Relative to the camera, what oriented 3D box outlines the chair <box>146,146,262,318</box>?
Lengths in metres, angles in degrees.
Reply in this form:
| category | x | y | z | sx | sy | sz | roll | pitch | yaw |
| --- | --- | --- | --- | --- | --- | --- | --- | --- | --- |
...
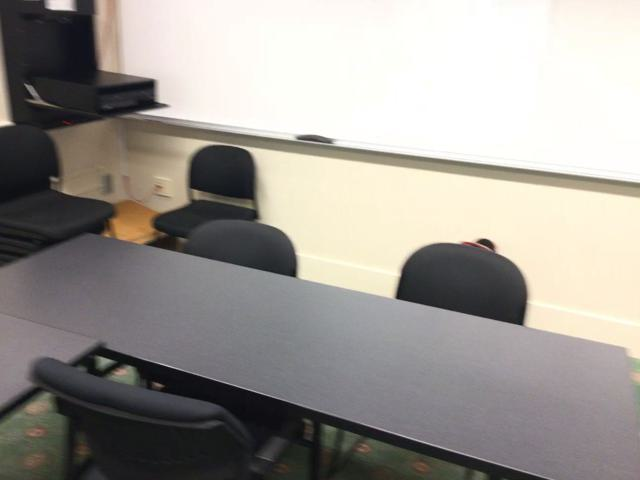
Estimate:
| category | x | y | z | sx | sy | sz | roll | pitch | yaw |
| --- | --- | --- | --- | --- | --- | --- | --- | --- | --- |
| chair | -0.600 | -0.070 | 3.090 | 0.360 | 0.780 | 0.510 | 9 | 18 | 21 |

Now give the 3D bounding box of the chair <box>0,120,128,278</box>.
| category | x | y | z | sx | sy | sz | roll | pitch | yaw |
| --- | --- | --- | --- | --- | --- | --- | --- | --- | --- |
| chair | -1.250 | -0.210 | 2.540 | 0.620 | 0.550 | 0.430 | 9 | 18 | 21 |
